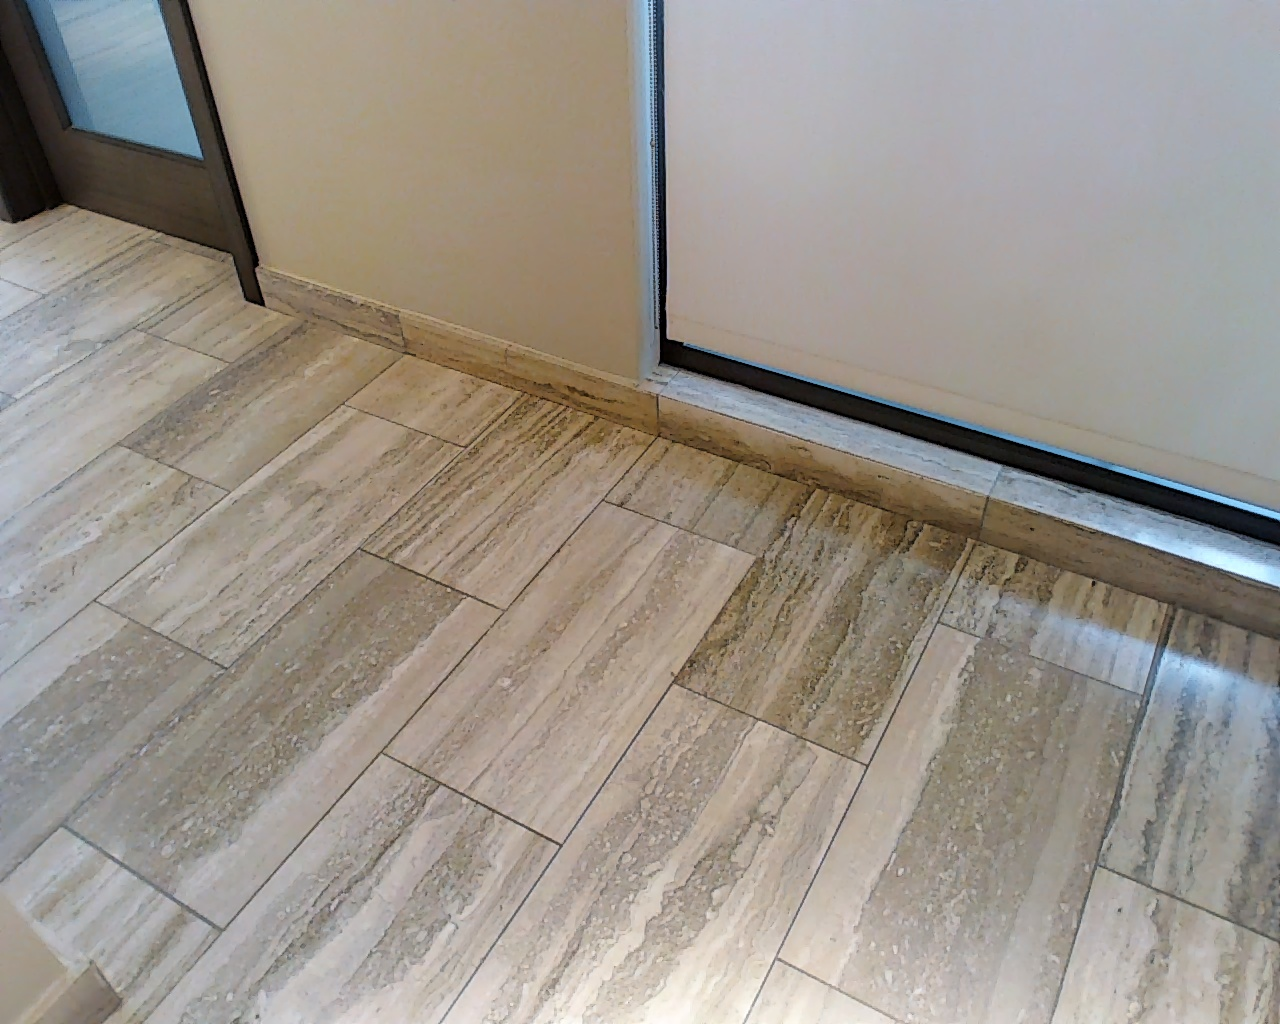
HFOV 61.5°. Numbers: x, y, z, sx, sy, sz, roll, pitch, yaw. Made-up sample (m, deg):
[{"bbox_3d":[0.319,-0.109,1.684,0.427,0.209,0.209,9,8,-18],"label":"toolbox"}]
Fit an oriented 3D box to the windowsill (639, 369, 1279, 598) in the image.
[{"bbox_3d":[0.560,-0.050,1.800,1.250,0.020,0.080,20,46,23],"label":"windowsill"}]
